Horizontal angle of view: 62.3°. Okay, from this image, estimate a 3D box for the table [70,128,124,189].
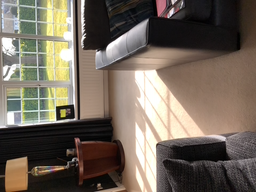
[{"bbox_3d":[-0.490,0.880,3.170,0.630,0.650,0.620,-166,76,-66],"label":"table"}]

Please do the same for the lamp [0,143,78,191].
[{"bbox_3d":[-1.220,1.060,2.950,0.500,0.900,0.500,-115,33,-43],"label":"lamp"}]
